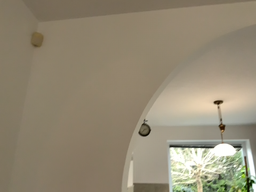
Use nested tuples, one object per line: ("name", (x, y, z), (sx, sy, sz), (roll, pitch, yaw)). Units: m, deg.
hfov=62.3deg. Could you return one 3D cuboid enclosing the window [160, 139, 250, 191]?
("window", (1.710, 1.740, 4.900), (1.880, 1.460, 0.160), (-2, -20, 7))
